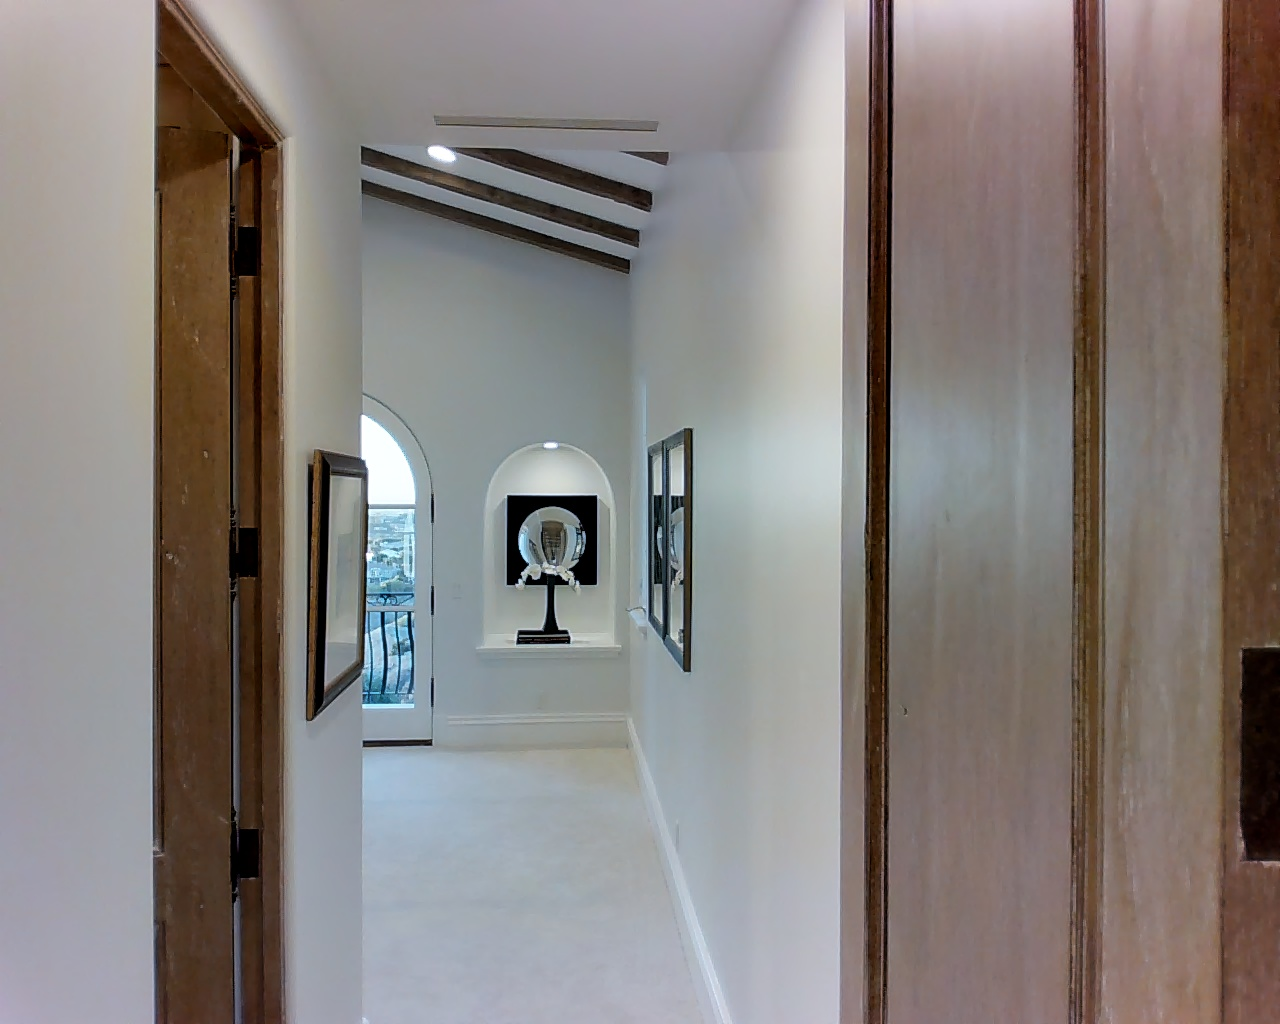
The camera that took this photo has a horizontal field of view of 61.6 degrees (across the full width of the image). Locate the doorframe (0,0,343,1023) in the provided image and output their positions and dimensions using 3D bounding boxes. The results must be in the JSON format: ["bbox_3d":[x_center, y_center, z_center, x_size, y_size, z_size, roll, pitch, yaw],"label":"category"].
[{"bbox_3d":[-0.730,0.390,1.820,0.230,2.651,0.940,-1,1,-4],"label":"doorframe"}]
